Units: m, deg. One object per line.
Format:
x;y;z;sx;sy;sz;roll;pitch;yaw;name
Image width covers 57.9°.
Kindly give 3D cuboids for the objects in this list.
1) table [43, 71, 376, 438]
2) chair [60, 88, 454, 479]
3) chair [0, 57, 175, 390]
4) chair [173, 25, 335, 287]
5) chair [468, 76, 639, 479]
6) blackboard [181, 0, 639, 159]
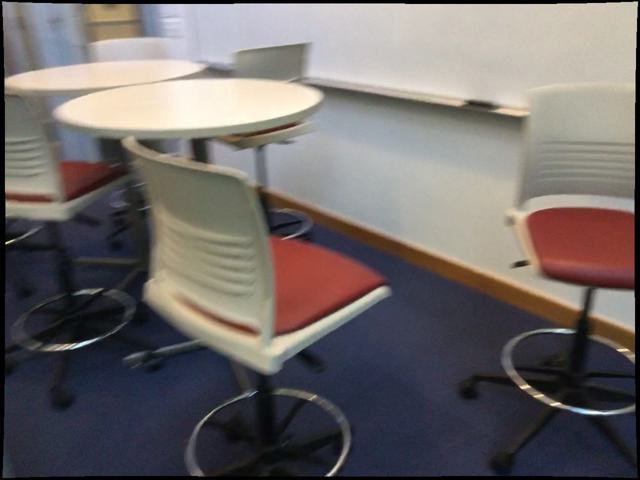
-0.380;-0.040;2.260;0.880;1.011;0.780;-22;33;-37;table
-0.140;0.260;1.500;0.580;1.121;0.650;-22;33;-37;chair
-1.019;-0.080;2.240;0.569;1.121;0.530;6;27;15;chair
-0.300;-0.440;2.900;0.530;1.131;0.510;-22;33;-37;chair
0.809;0.110;1.780;0.539;1.091;0.610;2;26;8;chair
0.300;-1.231;2.760;0.130;1.131;3.639;-22;33;-37;blackboard
